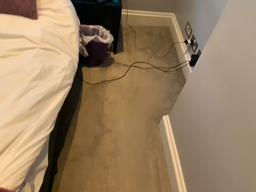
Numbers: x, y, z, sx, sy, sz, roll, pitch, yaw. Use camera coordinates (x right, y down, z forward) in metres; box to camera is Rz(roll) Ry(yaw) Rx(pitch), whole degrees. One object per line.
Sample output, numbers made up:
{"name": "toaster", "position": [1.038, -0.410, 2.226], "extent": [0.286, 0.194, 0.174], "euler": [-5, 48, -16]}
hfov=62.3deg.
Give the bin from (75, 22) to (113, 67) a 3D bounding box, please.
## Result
{"name": "bin", "position": [-0.280, -0.420, 1.760], "extent": [0.280, 0.290, 0.200], "euler": [0, 53, -9]}
